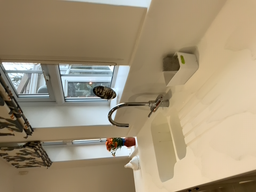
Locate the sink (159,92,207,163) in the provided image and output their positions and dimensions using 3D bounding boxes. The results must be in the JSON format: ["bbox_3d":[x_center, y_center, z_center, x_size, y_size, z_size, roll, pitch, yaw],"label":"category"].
[{"bbox_3d":[0.330,0.200,1.350,0.250,0.120,0.380,110,155,-59],"label":"sink"}]

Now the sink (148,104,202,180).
[{"bbox_3d":[0.320,0.340,1.580,0.290,0.200,0.480,110,155,-59],"label":"sink"}]
